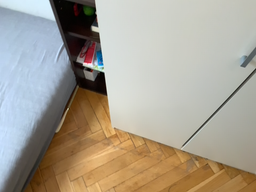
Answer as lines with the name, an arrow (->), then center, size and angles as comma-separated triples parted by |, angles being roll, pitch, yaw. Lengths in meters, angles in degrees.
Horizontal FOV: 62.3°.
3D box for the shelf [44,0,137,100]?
shelf -> -0.150, -0.320, 1.170 | 0.300, 0.710, 0.330 | 15, 62, 6
